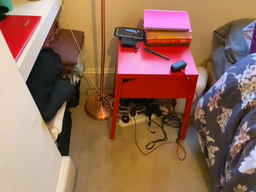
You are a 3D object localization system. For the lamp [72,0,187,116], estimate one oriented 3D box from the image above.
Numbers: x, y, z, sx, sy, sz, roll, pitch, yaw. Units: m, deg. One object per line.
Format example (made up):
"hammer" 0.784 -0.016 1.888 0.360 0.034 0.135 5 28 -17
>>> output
"lamp" 0.000 -0.320 1.100 0.470 1.080 0.210 -2 47 -3
